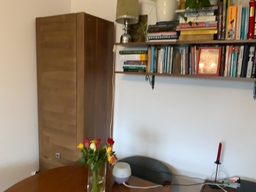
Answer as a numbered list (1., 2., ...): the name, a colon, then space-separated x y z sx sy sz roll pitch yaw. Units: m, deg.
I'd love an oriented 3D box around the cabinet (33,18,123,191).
1. cabinet: -0.520 0.290 2.150 0.660 1.930 0.510 8 8 29
